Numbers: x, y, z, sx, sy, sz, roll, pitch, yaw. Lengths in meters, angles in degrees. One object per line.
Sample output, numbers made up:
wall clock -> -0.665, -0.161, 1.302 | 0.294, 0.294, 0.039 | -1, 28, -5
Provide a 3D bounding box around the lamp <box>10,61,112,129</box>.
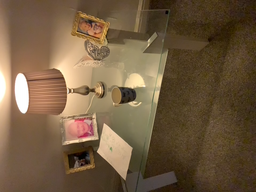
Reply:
lamp -> -0.380, -0.020, 1.230 | 0.220, 0.500, 0.290 | 28, 113, 47
